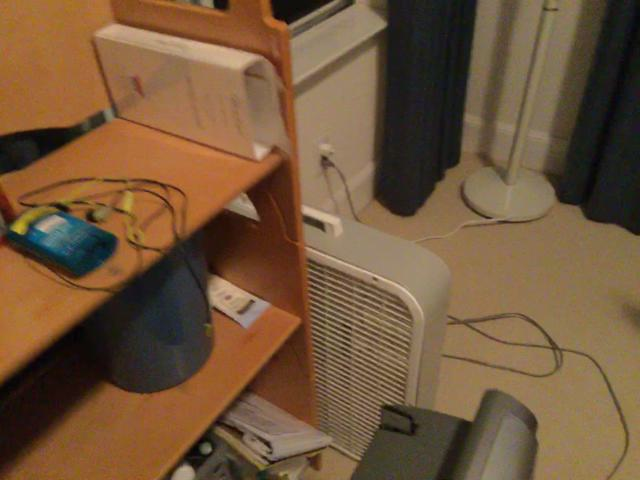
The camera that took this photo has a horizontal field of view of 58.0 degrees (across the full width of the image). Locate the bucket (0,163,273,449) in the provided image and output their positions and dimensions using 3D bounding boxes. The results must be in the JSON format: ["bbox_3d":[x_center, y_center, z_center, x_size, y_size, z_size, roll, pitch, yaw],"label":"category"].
[{"bbox_3d":[-0.240,0.080,0.780,0.260,0.260,0.180,19,46,30],"label":"bucket"}]
